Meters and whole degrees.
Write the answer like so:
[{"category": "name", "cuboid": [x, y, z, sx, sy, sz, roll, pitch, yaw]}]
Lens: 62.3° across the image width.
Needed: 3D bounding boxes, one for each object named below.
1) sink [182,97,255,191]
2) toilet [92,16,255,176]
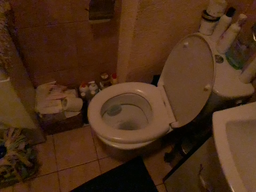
[{"category": "sink", "cuboid": [0.430, 0.260, 0.620, 0.320, 0.160, 0.500, -11, 58, -14]}, {"category": "toilet", "cuboid": [0.140, 0.060, 1.170, 0.570, 0.810, 0.400, -11, 58, -14]}]
